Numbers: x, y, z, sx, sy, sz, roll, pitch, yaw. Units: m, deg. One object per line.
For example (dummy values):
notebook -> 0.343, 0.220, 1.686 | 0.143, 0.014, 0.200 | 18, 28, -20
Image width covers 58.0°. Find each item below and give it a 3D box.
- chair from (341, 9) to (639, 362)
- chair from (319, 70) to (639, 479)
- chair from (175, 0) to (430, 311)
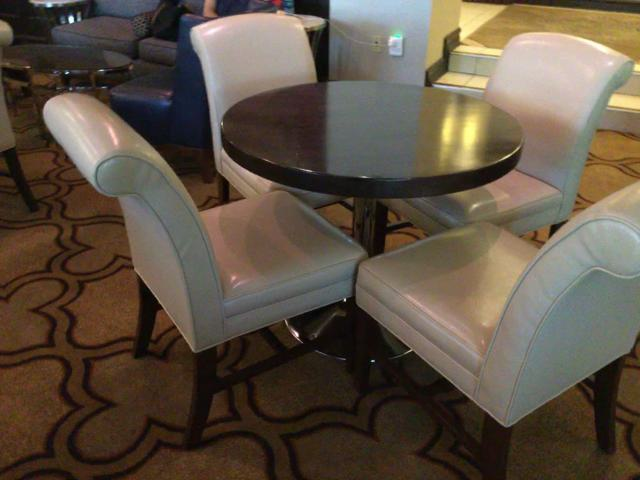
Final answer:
chair -> 0.600, -0.250, 2.090 | 0.840, 0.940, 0.610 | -19, 34, -26
chair -> 0.460, 0.150, 1.450 | 0.530, 0.910, 0.770 | -23, 37, -32
chair -> -0.090, -0.400, 2.320 | 0.610, 0.930, 0.820 | -17, 34, -24
